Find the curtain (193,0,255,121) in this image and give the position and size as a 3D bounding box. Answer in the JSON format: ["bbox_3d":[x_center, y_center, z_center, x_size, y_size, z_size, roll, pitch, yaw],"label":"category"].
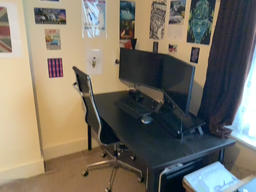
[{"bbox_3d":[0.760,-0.580,1.550,0.140,1.480,0.390,-8,21,-27],"label":"curtain"}]

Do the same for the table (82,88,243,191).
[{"bbox_3d":[0.170,0.500,2.200,0.850,0.730,1.480,-8,21,-27],"label":"table"}]

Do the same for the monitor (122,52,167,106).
[{"bbox_3d":[0.160,-0.210,2.370,0.610,0.530,0.040,15,23,43],"label":"monitor"}]

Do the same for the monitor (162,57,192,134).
[{"bbox_3d":[0.410,-0.040,1.880,0.030,0.530,0.580,-1,18,-6],"label":"monitor"}]
